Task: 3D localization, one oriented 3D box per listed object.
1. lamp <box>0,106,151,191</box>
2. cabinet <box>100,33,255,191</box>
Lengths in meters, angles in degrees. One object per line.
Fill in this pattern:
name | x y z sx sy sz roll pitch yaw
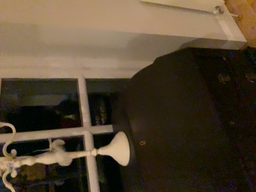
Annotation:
lamp | -0.280 0.260 0.830 0.240 0.630 0.330 122 140 -55
cabinet | 0.470 0.200 1.050 0.480 1.020 0.810 123 140 -55
